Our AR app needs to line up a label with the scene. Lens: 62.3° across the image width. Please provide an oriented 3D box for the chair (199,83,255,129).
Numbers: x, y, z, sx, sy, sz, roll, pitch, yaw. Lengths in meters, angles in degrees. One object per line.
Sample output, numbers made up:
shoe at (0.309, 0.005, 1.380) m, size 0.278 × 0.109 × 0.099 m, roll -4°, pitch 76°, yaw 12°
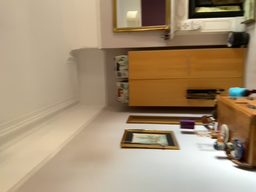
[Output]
chair at (1.460, 0.110, 2.890) m, size 0.540 × 0.830 × 0.530 m, roll -55°, pitch -35°, yaw -79°

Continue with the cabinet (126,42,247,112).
cabinet at (1.000, -0.350, 3.990) m, size 0.750 × 1.990 × 1.160 m, roll -45°, pitch -45°, yaw -81°
